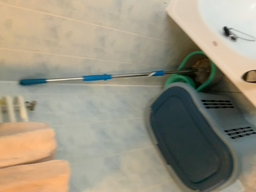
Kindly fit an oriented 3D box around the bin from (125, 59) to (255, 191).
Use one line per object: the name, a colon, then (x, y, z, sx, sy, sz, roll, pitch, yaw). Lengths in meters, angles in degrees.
bin: (0.450, 0.170, 1.270, 0.700, 0.580, 0.380, 56, 130, 33)
